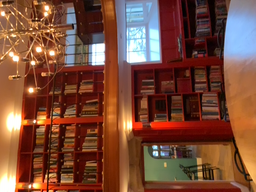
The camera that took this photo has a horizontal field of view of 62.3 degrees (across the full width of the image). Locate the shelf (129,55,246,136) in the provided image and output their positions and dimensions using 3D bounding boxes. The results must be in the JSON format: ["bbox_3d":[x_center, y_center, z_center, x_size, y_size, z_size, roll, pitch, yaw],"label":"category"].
[{"bbox_3d":[1.130,0.020,4.450,0.490,2.160,1.540,62,-154,-74],"label":"shelf"}]
